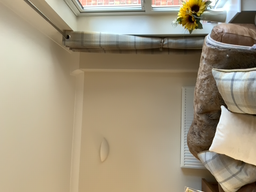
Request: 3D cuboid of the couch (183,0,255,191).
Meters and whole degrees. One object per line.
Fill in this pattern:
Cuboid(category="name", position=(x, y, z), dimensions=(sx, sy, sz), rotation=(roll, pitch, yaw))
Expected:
Cuboid(category="couch", position=(0.980, 0.250, 1.560), dimensions=(0.980, 0.830, 1.580), rotation=(-81, -9, -50))
